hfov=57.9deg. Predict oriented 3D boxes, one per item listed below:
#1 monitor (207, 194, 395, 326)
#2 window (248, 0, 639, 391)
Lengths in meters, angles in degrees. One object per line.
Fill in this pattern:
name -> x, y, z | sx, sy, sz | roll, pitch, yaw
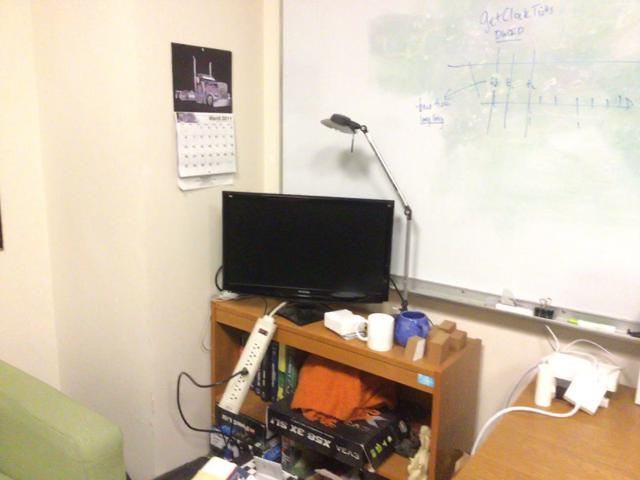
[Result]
monitor -> -0.060, 0.050, 1.920 | 0.580, 0.370, 0.200 | 3, 11, 15
window -> 0.700, -0.220, 1.530 | 2.230, 1.180, 0.110 | 8, 13, 34
